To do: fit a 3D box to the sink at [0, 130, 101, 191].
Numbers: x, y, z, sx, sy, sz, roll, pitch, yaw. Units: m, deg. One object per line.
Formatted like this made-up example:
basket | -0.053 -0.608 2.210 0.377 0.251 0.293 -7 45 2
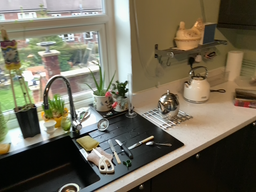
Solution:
sink | -0.460 0.440 1.040 0.510 0.210 0.440 -16 28 -30
